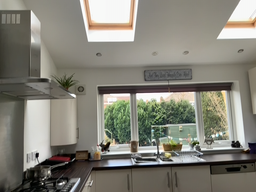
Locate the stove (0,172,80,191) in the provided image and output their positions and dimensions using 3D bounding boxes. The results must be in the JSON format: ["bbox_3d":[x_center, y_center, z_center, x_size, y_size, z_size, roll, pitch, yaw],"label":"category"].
[{"bbox_3d":[-0.720,0.730,1.690,0.550,0.050,0.730,-2,-7,-4],"label":"stove"}]
